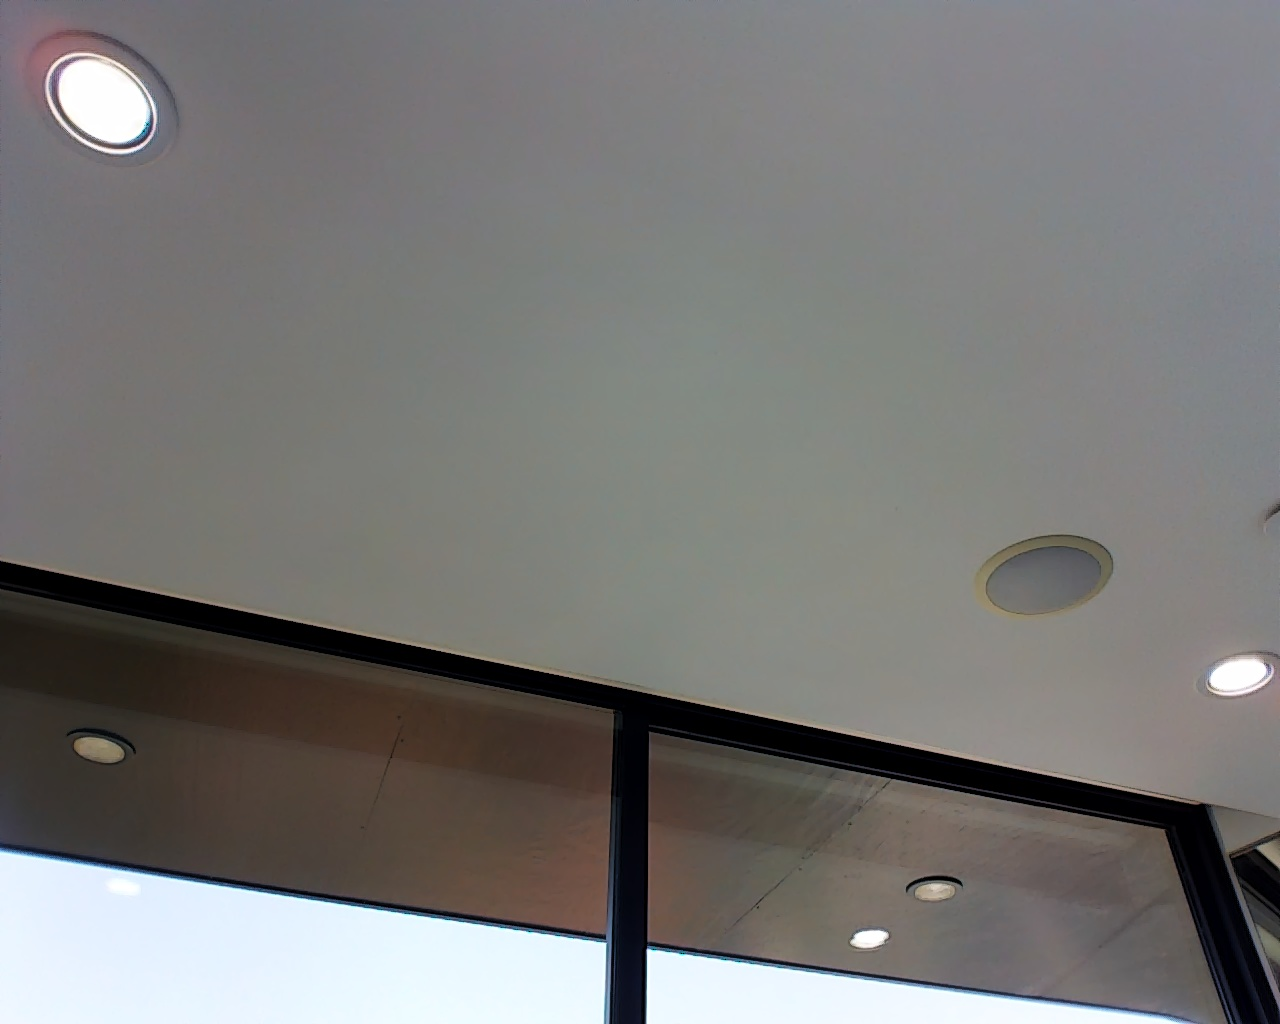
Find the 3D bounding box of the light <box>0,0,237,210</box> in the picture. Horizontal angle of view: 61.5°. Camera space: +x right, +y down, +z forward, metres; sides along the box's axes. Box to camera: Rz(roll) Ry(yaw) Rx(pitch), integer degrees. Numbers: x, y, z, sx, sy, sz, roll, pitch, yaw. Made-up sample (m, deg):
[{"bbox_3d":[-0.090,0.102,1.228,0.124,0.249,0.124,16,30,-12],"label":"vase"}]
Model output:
[{"bbox_3d":[-0.600,-0.460,1.220,0.200,0.010,0.200,-20,-45,33],"label":"light"}]
